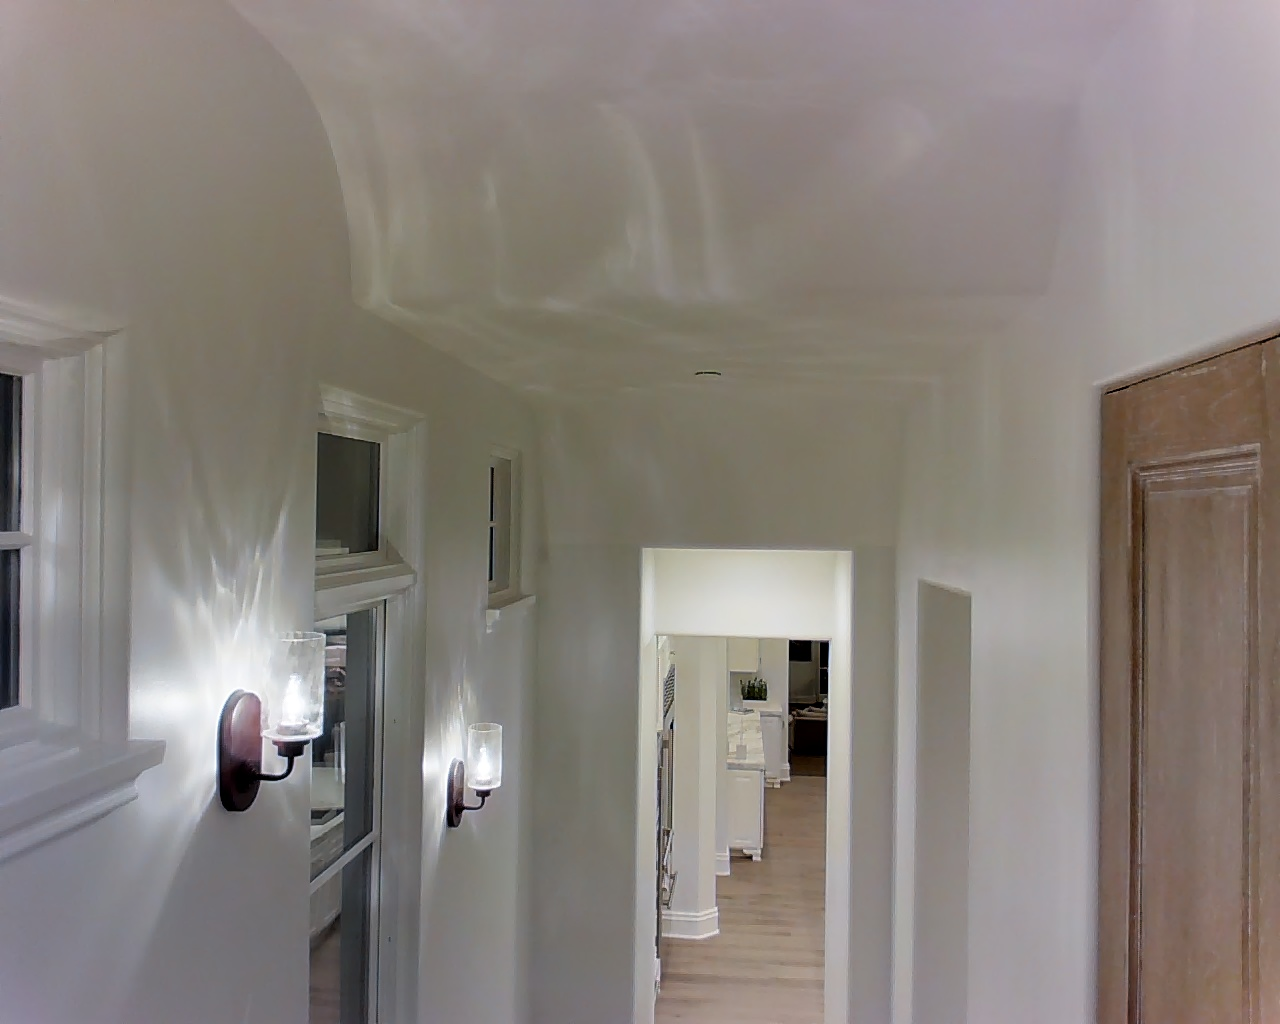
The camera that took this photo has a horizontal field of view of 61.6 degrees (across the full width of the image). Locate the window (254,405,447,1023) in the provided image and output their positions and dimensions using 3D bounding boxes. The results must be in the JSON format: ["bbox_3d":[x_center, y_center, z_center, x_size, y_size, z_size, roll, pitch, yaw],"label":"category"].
[{"bbox_3d":[-0.660,0.690,2.550,0.160,1.801,0.750,1,-2,6],"label":"window"}]

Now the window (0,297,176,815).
[{"bbox_3d":[-0.780,0.050,1.220,0.130,0.580,0.690,1,-2,6],"label":"window"}]
